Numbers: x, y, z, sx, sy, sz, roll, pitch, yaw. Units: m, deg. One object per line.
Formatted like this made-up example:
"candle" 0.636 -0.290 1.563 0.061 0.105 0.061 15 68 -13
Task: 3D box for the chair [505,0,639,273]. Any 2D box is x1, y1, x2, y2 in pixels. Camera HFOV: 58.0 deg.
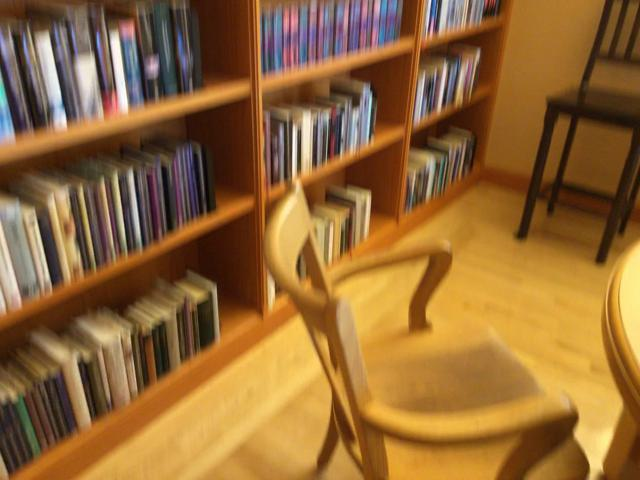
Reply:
"chair" 1.220 -0.520 2.530 0.470 1.130 0.520 19 35 31

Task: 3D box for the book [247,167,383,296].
"book" 0.000 -0.060 2.370 0.220 0.260 0.620 19 35 31

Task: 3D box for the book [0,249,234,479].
"book" -0.610 0.340 1.650 0.200 0.280 0.810 19 35 31

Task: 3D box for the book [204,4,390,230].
"book" -0.040 -0.470 2.060 0.200 0.600 0.740 19 35 31

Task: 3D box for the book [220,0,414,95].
"book" 0.040 -0.790 1.930 0.140 0.390 0.900 19 35 31

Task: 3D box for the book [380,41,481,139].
"book" 0.510 -0.700 2.640 0.200 0.300 0.560 19 35 31

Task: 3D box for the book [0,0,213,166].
"book" -0.610 -0.390 1.280 0.220 0.300 0.780 19 35 31

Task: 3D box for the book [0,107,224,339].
"book" -0.610 -0.070 1.450 0.220 0.310 0.780 19 35 31

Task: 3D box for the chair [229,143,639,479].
"chair" 0.210 0.340 1.280 0.680 0.900 0.690 -1 29 -2

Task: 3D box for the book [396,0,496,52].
"book" 0.570 -1.040 2.530 0.210 0.310 0.540 19 35 31
